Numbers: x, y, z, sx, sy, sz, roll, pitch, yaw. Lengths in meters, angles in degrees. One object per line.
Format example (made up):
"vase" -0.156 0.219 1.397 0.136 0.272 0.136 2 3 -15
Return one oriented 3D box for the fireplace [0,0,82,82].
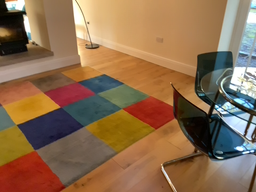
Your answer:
"fireplace" -2.050 -1.230 3.530 2.170 1.610 1.000 -22 36 -36
